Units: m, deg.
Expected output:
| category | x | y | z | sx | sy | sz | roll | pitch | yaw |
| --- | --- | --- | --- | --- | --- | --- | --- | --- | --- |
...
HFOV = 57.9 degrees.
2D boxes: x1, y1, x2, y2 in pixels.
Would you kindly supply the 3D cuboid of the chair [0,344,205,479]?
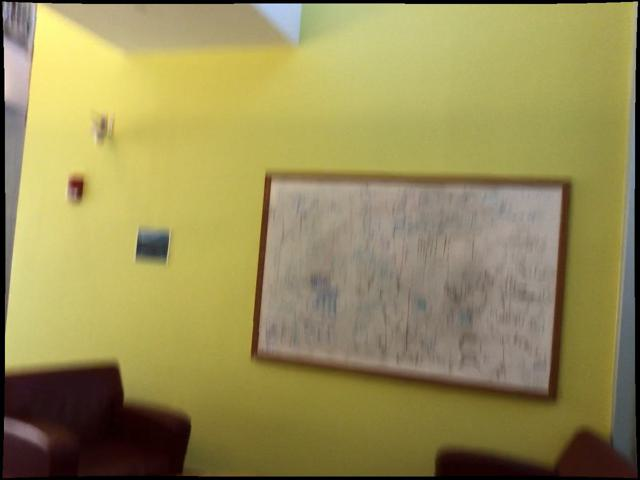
| category | x | y | z | sx | sy | sz | roll | pitch | yaw |
| --- | --- | --- | --- | --- | --- | --- | --- | --- | --- |
| chair | -1.289 | 1.071 | 3.150 | 0.810 | 0.731 | 0.860 | -7 | 6 | 40 |
